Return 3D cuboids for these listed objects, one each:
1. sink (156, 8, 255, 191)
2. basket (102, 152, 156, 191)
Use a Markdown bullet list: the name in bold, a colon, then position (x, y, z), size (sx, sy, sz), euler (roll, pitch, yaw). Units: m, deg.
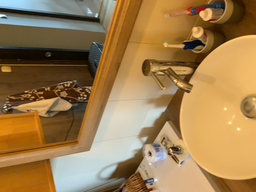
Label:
- **sink**: position (0.310, 0.030, 0.640), size (0.360, 0.130, 0.430), euler (58, 139, 39)
- **basket**: position (0.000, 0.520, 1.160), size (0.290, 0.130, 0.290), euler (61, 140, 36)
